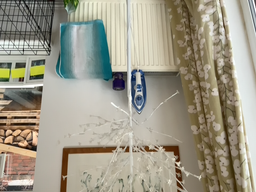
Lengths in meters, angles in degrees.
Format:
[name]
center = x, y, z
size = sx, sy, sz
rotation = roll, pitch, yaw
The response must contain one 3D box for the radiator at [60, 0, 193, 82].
[radiator]
center = -0.010, -0.410, 1.600
size = 0.910, 0.570, 0.160
rotation = 1, 163, -6
